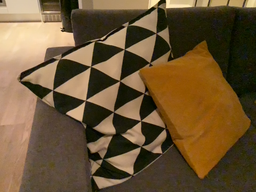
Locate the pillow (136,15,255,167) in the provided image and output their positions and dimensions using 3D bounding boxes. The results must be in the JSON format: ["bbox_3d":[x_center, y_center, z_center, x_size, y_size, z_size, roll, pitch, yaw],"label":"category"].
[{"bbox_3d":[0.340,0.010,0.940,0.150,0.490,0.490,8,76,55],"label":"pillow"}]
